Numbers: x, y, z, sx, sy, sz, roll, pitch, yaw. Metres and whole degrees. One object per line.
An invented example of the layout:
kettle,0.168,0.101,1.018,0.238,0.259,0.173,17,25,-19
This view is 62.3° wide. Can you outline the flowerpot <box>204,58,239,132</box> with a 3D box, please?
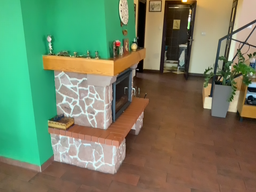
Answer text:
flowerpot,1.510,-0.030,3.510,0.330,1.100,0.480,8,20,17
